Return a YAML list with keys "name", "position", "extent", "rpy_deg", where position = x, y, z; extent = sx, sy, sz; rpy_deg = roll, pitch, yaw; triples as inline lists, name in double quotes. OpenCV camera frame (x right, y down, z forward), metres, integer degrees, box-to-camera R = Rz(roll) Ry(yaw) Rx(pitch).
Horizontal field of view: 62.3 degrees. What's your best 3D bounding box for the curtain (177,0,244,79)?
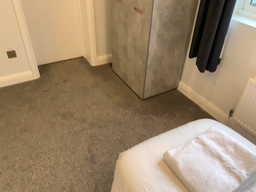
- name: "curtain"
  position: [0.710, -1.040, 1.490]
  extent: [0.190, 1.930, 0.370]
  rpy_deg: [-17, 42, -24]
